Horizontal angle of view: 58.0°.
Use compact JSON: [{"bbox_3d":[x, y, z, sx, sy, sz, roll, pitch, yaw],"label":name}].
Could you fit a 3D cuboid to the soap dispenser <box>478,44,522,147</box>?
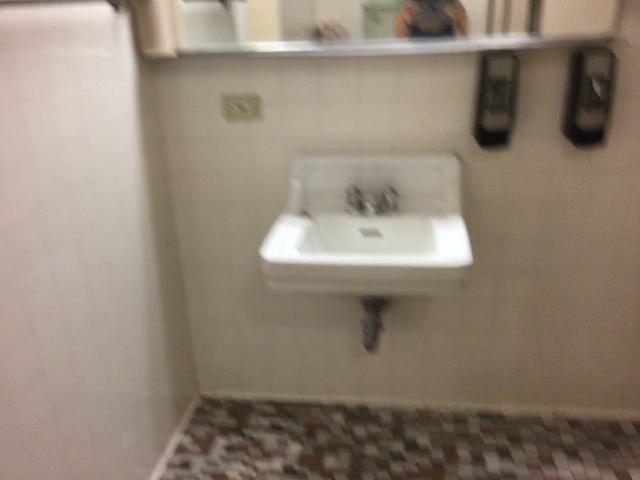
[{"bbox_3d":[0.470,-0.380,1.520,0.090,0.250,0.100,0,21,10],"label":"soap dispenser"}]
